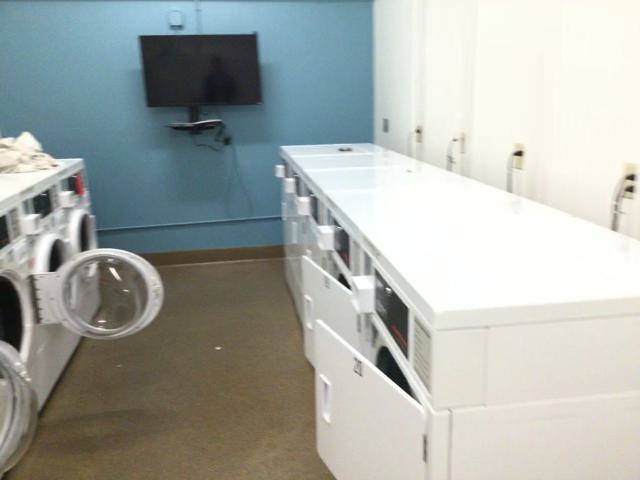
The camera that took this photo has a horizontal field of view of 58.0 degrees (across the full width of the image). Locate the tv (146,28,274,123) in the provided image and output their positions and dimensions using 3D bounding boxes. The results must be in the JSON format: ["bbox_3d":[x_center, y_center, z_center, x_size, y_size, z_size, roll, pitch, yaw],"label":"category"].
[{"bbox_3d":[-0.810,-1.240,4.380,0.890,0.660,0.270,-3,15,-7],"label":"tv"}]

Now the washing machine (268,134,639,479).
[{"bbox_3d":[0.310,0.240,2.720,0.920,1.180,3.270,-3,15,-7],"label":"washing machine"}]
